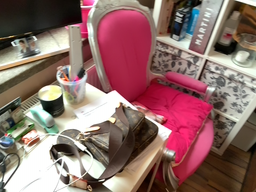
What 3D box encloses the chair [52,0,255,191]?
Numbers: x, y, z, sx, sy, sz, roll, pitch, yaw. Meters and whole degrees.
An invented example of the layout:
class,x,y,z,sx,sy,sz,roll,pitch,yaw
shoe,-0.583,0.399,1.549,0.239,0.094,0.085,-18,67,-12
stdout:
class,x,y,z,sx,sy,sz,roll,pitch,yaw
chair,0.130,0.040,1.270,0.810,1.000,0.590,30,48,22
